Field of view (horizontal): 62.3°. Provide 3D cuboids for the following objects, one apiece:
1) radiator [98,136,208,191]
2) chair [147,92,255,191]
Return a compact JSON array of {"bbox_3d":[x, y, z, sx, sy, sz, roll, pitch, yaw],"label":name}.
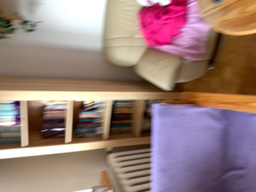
[{"bbox_3d":[0.340,0.920,1.650,1.840,0.710,0.220,-135,49,-59],"label":"radiator"},{"bbox_3d":[0.620,0.350,1.170,0.770,0.730,0.710,-171,82,-67],"label":"chair"}]
